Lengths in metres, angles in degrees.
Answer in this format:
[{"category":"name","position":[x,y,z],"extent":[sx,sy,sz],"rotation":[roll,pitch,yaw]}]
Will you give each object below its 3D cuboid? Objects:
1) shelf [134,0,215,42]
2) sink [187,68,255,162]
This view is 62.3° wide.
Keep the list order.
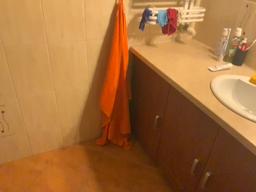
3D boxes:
[{"category":"shelf","position":[0.370,-0.950,1.360],"extent":[0.560,1.130,0.180],"rotation":[-12,37,-23]},{"category":"sink","position":[0.640,0.060,1.120],"extent":[0.390,0.170,0.480],"rotation":[-12,37,-23]}]
